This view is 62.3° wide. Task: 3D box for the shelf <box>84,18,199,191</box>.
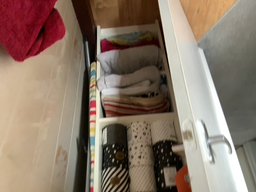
[{"bbox_3d":[0.040,0.040,1.230,0.440,1.070,0.330,-3,147,1],"label":"shelf"}]
